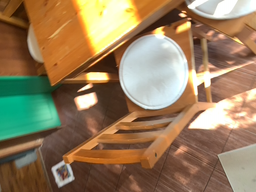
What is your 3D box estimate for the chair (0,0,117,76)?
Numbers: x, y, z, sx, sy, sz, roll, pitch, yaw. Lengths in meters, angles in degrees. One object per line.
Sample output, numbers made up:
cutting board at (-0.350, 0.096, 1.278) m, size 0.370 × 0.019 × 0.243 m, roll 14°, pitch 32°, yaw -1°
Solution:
chair at (-0.590, -0.450, 1.460) m, size 0.420 × 0.910 × 0.480 m, roll -32°, pitch 78°, yaw 31°
